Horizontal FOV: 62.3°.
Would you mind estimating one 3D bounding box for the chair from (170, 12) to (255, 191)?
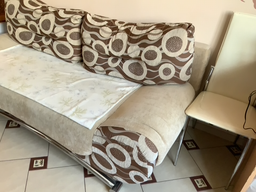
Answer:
[{"bbox_3d":[0.640,0.020,1.380,0.380,0.960,0.540,21,33,22],"label":"chair"}]
